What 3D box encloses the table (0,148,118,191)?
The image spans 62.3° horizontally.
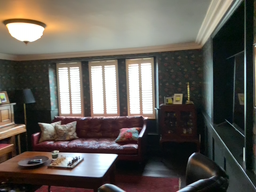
[{"bbox_3d":[-1.000,1.140,2.990,1.560,0.530,0.790,-1,4,12],"label":"table"}]
